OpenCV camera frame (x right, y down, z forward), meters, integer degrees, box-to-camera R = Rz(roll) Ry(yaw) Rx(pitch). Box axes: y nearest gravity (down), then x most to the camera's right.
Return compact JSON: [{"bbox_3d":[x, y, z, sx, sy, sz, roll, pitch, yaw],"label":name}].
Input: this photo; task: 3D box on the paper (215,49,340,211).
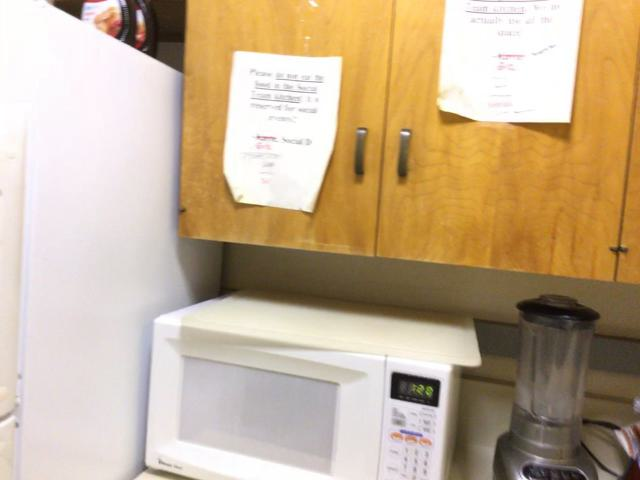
[{"bbox_3d":[-0.080,-0.200,1.050,0.210,0.280,0.030,5,4,15],"label":"paper"}]
